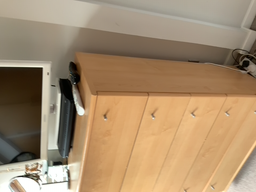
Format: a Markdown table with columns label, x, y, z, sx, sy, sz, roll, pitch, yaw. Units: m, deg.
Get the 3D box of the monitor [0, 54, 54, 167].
| label | x | y | z | sx | sy | sz | roll | pitch | yaw |
| --- | --- | --- | --- | --- | --- | --- | --- | --- | --- |
| monitor | -0.590 | 0.100 | 1.050 | 0.060 | 0.380 | 0.610 | -123 | 33 | -54 |
